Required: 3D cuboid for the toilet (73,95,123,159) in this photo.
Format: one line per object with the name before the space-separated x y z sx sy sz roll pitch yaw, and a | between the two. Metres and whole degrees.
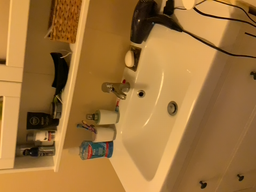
toilet | -0.160 0.160 1.070 0.110 0.160 0.300 50 128 52
